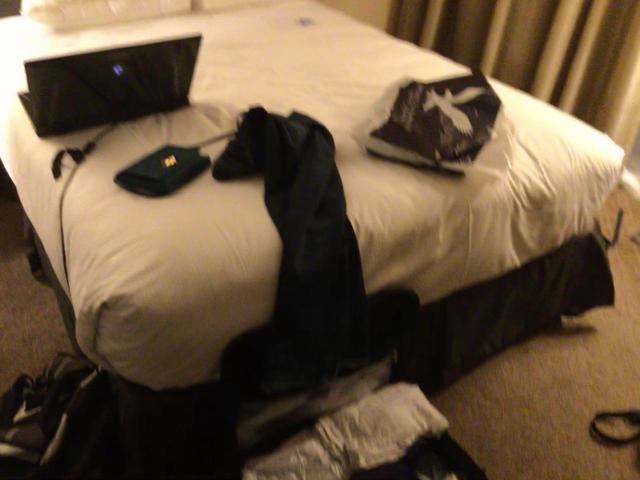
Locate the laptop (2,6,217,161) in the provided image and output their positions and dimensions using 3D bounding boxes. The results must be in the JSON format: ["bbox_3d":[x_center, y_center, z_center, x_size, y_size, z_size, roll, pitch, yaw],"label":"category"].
[{"bbox_3d":[-0.570,-0.450,1.570,0.440,0.250,0.430,-14,37,-26],"label":"laptop"}]

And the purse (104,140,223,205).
[{"bbox_3d":[-0.350,-0.160,1.320,0.160,0.030,0.220,16,35,18],"label":"purse"}]
